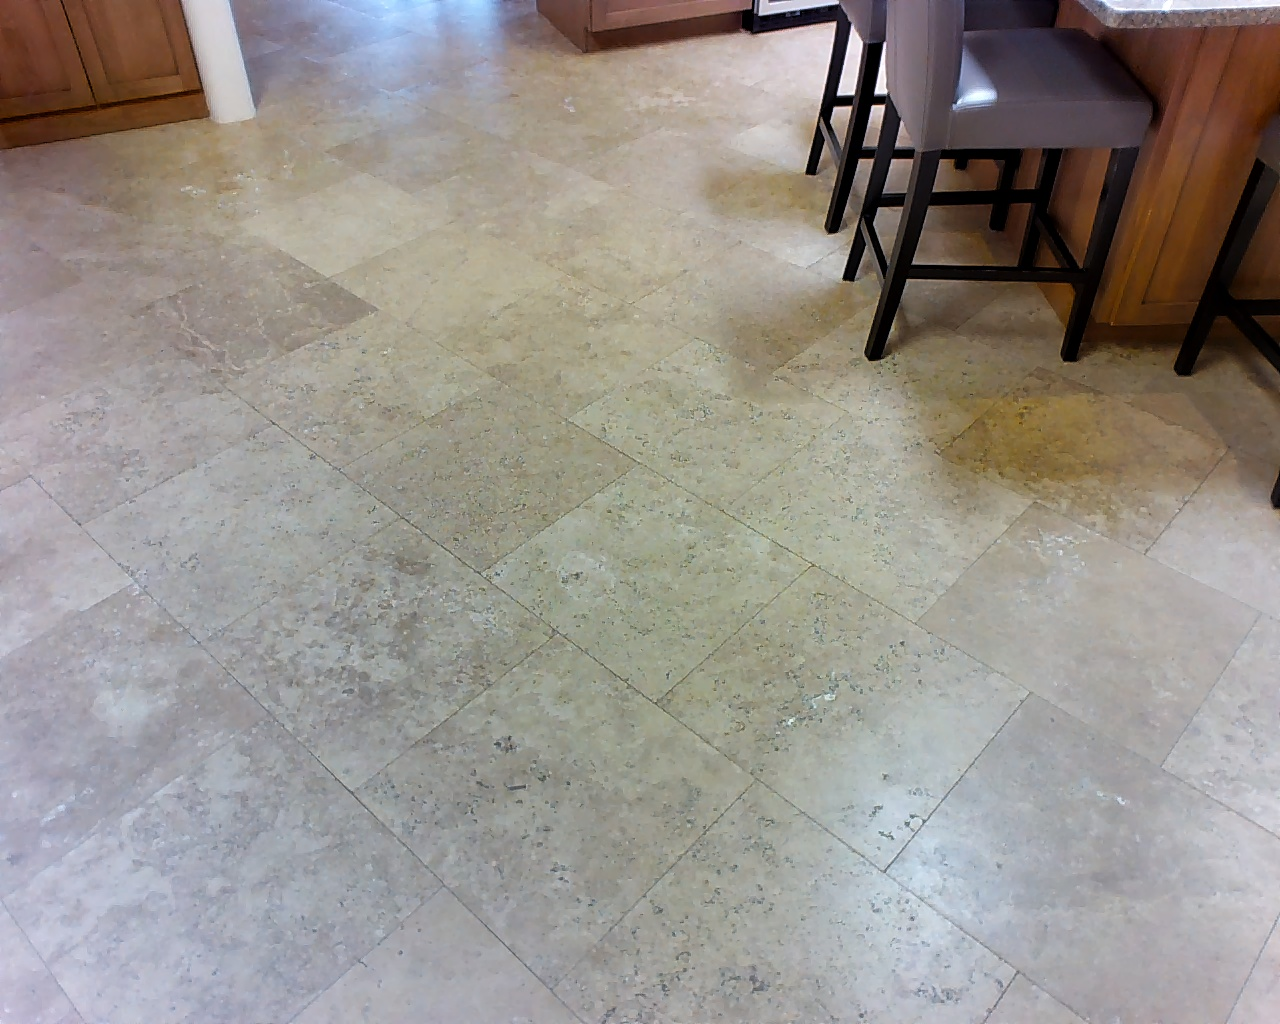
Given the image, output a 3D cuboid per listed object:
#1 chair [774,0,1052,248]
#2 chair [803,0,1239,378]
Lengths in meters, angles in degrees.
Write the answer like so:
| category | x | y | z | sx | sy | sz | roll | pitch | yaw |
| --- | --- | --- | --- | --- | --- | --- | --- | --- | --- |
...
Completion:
| category | x | y | z | sx | sy | sz | roll | pitch | yaw |
| --- | --- | --- | --- | --- | --- | --- | --- | --- | --- |
| chair | 0.710 | -1.290 | 2.870 | 0.550 | 0.990 | 0.510 | -2 | 42 | -2 |
| chair | 0.780 | -0.870 | 2.390 | 0.650 | 1.000 | 0.510 | -2 | 42 | -2 |
